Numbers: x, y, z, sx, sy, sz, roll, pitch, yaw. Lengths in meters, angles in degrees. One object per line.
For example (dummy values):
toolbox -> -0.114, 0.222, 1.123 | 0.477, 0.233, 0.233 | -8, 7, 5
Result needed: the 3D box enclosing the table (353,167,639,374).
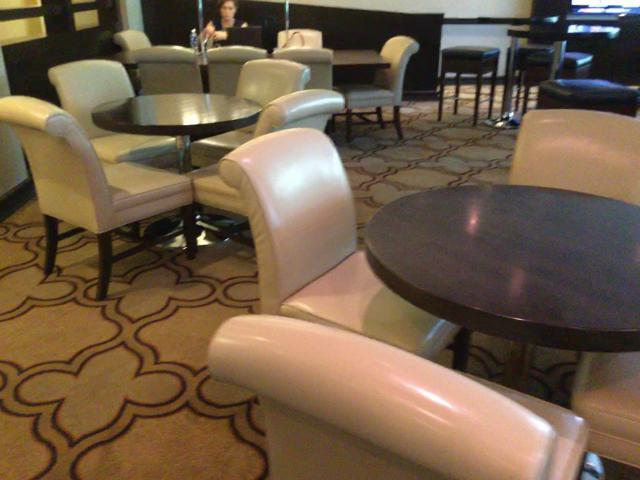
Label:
table -> 0.580, 0.010, 1.550 | 0.890, 0.100, 0.900 | -2, 26, -2
